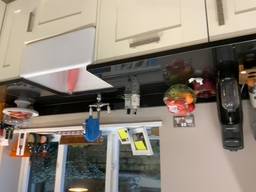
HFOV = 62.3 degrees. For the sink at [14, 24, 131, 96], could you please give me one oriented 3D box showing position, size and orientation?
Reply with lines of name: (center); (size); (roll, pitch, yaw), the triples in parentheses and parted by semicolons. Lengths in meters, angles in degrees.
sink: (-0.370, -0.210, 1.560); (0.610, 0.230, 0.540); (-6, 164, 24)
